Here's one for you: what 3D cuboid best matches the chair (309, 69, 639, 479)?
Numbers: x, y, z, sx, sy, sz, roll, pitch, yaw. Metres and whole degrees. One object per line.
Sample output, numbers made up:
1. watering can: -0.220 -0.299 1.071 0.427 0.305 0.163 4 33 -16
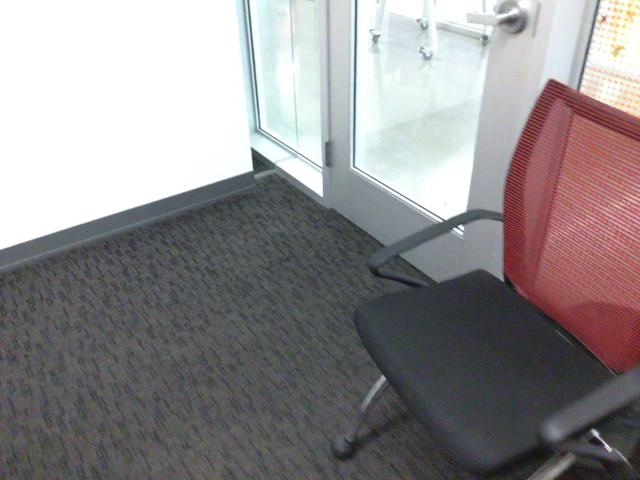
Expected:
1. chair: 0.370 0.210 1.210 0.560 0.920 0.600 -15 33 -21
